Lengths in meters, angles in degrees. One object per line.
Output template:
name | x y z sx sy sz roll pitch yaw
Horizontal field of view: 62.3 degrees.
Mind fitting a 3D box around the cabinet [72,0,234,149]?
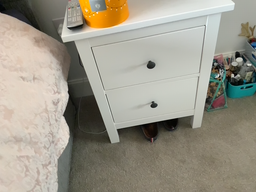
cabinet | 0.090 -0.140 1.000 0.480 0.640 0.430 -9 46 1
